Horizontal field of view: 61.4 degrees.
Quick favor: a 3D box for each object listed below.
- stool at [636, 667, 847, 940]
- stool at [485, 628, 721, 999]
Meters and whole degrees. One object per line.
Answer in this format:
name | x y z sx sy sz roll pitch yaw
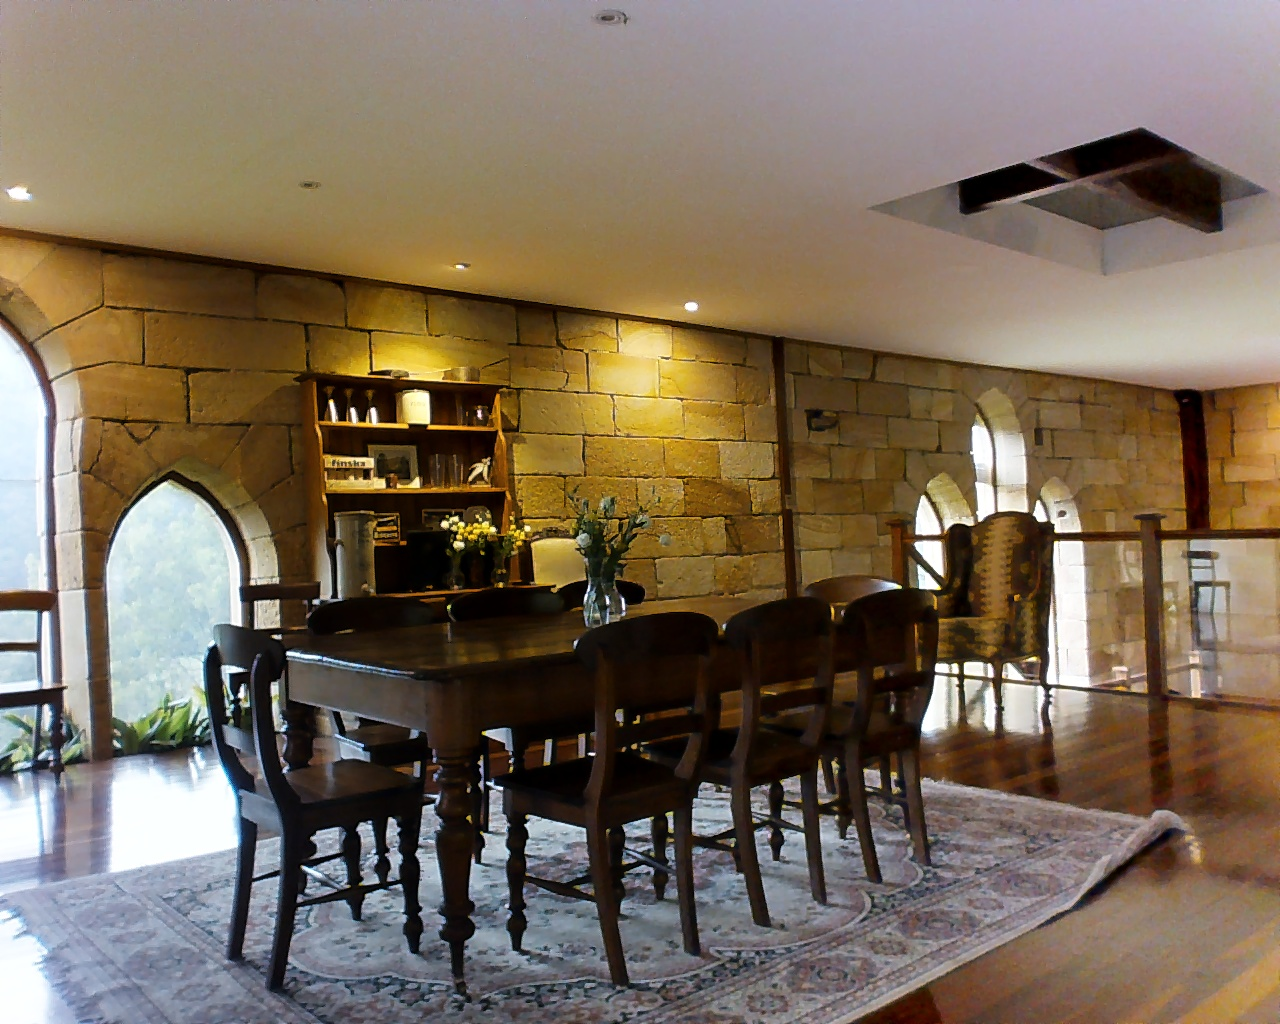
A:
stool | 0.300 0.830 3.220 0.430 0.660 0.440 0 -2 -40
stool | -0.100 0.760 2.910 0.490 0.840 0.380 0 -2 -40
